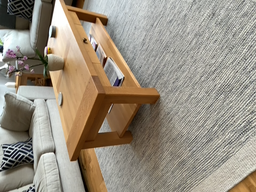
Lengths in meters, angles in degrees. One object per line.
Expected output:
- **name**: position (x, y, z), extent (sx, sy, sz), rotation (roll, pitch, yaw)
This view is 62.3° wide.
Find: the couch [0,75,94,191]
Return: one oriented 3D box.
- **couch**: position (-1.160, 0.920, 2.510), extent (1.090, 0.930, 2.270), rotation (-61, 41, 35)
